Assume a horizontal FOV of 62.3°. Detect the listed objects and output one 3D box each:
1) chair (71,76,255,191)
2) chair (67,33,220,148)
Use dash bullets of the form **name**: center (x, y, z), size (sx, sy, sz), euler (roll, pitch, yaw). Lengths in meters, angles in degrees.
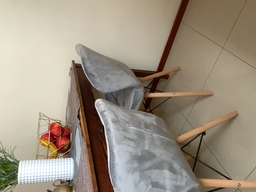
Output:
- **chair**: center (0.190, 0.290, 0.860), size (0.410, 0.730, 0.540), euler (-117, 37, -52)
- **chair**: center (0.040, -0.020, 1.290), size (0.410, 0.730, 0.480), euler (-117, 37, -52)
